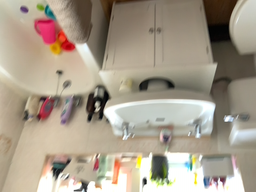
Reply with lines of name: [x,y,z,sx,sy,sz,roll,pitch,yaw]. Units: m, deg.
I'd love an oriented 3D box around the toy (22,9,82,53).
toy: [-0.540,-0.460,1.550,0.300,0.090,0.300,-2,149,11]
